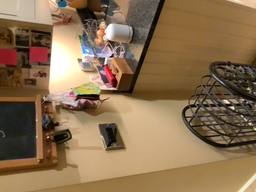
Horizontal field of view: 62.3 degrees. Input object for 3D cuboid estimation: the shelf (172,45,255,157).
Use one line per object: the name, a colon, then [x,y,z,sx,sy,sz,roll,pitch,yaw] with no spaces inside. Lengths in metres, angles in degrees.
shelf: [0.670,0.020,1.230,0.440,0.570,0.390,-116,37,-44]
